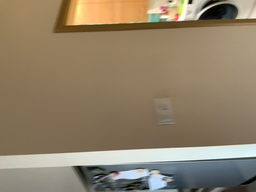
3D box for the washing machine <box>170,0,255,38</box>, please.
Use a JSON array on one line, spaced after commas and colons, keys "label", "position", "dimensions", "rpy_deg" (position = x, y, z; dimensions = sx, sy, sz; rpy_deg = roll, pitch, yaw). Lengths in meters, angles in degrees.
[{"label": "washing machine", "position": [1.060, -1.220, 2.780], "dimensions": [0.620, 0.830, 0.610], "rpy_deg": [90, 177, -53]}]
